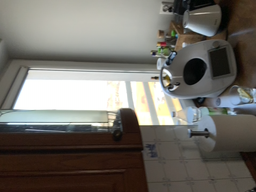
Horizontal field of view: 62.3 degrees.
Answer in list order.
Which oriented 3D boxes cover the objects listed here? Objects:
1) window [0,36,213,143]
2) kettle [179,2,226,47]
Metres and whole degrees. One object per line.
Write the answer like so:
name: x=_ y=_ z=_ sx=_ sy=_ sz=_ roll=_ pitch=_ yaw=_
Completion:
window: x=-0.370 y=-0.090 z=1.440 sx=0.150 sy=1.650 sz=0.830 roll=99 pitch=169 yaw=-46
kettle: x=0.430 y=-0.420 z=1.250 sx=0.140 sy=0.170 sz=0.200 roll=-98 pitch=12 yaw=-48
